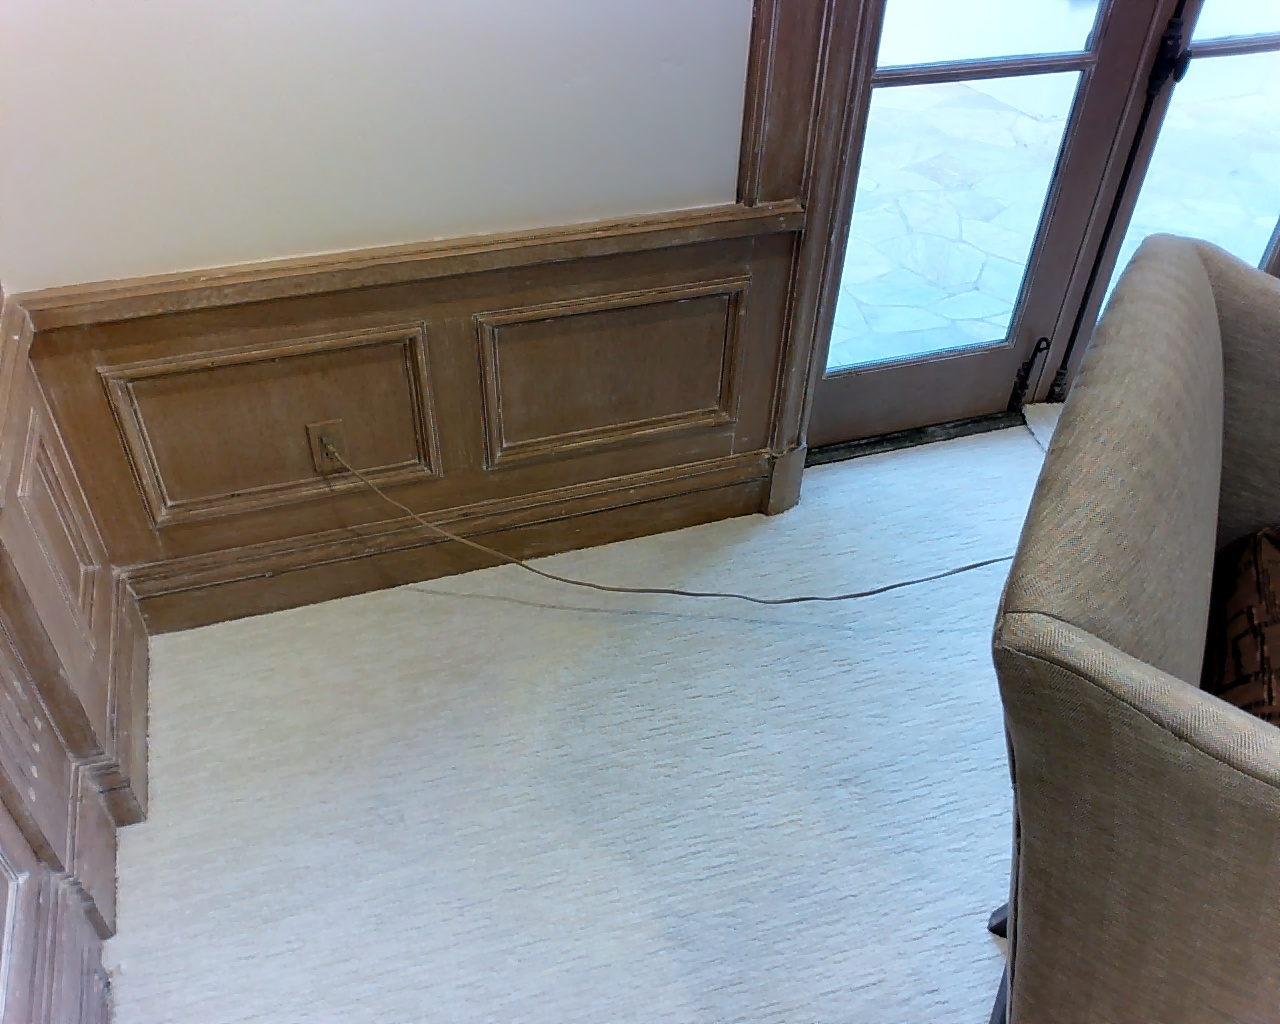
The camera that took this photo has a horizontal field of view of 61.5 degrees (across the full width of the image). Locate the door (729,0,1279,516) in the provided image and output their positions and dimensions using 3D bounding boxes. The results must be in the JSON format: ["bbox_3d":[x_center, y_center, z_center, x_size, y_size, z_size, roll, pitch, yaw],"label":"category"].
[{"bbox_3d":[1.120,-1.230,1.990,1.720,2.630,0.250,-11,42,-15],"label":"door"}]
